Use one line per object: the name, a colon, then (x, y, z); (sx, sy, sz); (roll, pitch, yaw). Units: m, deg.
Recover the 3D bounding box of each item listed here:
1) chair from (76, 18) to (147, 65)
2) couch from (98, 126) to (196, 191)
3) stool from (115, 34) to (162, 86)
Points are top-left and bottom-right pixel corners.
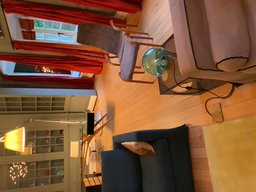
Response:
chair: (-0.330, -0.930, 3.610); (0.800, 0.980, 0.450); (-120, 37, -52)
couch: (0.160, 0.980, 2.530); (0.950, 0.780, 1.080); (143, 124, -63)
stool: (0.130, -0.540, 3.170); (0.490, 0.440, 0.610); (-124, 40, -55)
